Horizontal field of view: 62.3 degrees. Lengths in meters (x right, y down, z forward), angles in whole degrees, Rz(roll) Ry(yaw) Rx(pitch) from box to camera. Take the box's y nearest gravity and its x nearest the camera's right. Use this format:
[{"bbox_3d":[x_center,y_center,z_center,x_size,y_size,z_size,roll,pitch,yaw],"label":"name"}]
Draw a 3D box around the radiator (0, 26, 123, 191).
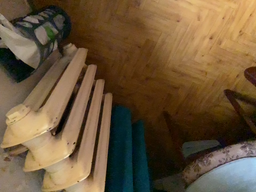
[{"bbox_3d":[-0.180,0.040,0.820,0.160,0.720,0.430,-21,119,9],"label":"radiator"}]
